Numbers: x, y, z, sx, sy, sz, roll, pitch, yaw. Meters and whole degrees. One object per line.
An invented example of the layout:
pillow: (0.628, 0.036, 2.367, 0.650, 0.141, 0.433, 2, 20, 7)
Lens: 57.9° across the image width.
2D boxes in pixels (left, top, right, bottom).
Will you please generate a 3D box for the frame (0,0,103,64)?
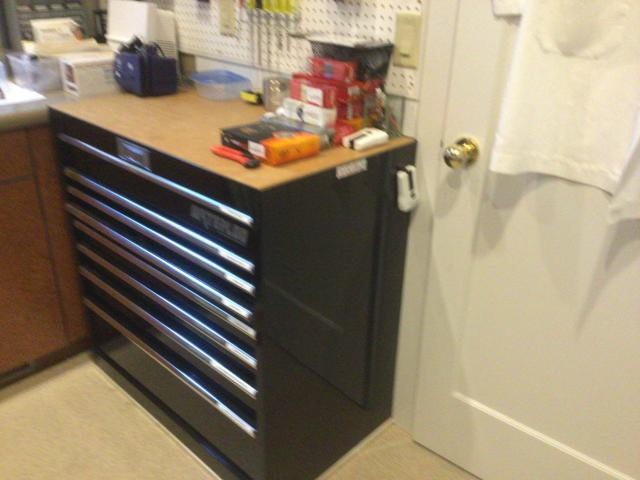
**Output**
frame: (-0.920, -0.720, 1.940, 0.220, 0.200, 0.260, 22, 33, 36)

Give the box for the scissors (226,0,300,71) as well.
scissors: (-0.160, -0.610, 1.600, 0.230, 0.240, 0.060, 22, 33, 36)

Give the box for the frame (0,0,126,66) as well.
frame: (-0.930, -0.750, 2.010, 0.270, 0.210, 0.380, 22, 33, 36)
